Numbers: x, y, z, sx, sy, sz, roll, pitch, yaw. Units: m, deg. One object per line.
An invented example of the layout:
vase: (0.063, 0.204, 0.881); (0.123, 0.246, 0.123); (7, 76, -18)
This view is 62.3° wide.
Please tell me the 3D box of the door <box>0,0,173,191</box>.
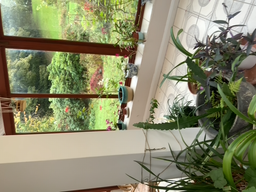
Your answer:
door: (-0.920, 0.690, 3.580); (0.170, 2.290, 5.770); (-116, 32, -56)
